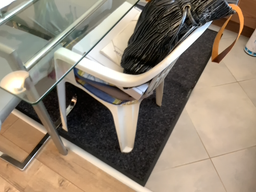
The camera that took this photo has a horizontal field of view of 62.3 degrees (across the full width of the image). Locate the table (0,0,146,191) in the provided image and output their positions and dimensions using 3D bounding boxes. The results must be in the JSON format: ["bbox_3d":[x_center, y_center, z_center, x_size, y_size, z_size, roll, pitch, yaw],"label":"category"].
[{"bbox_3d":[-0.780,-0.370,1.150,1.500,0.760,0.840,26,56,16],"label":"table"}]
